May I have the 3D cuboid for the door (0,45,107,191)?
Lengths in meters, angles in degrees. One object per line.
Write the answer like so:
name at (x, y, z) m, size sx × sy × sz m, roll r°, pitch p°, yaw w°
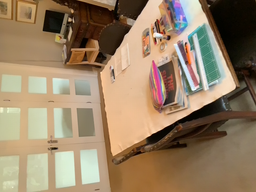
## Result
door at (-1.490, 0.820, 3.740) m, size 0.130 × 2.100 × 3.840 m, roll -44°, pitch 51°, yaw 52°
